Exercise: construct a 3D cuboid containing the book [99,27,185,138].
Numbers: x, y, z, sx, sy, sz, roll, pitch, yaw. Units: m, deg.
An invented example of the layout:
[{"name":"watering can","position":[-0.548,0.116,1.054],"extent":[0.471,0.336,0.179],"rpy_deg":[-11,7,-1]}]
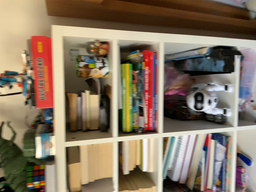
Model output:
[{"name":"book","position":[0.030,-0.060,0.930],"extent":[0.380,0.240,0.370],"rpy_deg":[-164,74,-70]}]
